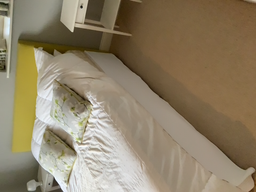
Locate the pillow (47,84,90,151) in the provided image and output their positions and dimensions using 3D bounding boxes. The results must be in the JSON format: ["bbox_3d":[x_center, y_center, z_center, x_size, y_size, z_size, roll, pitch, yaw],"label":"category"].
[{"bbox_3d":[-0.570,0.190,1.970,0.370,0.200,0.480,51,130,40],"label":"pillow"}]

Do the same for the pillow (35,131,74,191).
[{"bbox_3d":[-0.820,0.740,2.300,0.430,0.220,0.540,50,130,40],"label":"pillow"}]
